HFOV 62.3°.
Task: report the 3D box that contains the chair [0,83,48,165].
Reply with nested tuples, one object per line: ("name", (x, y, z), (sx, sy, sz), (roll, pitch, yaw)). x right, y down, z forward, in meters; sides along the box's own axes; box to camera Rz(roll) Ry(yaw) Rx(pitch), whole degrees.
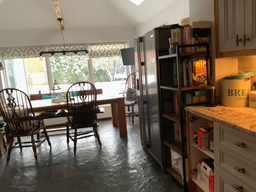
("chair", (-1.740, 0.400, 3.410), (0.560, 1.140, 0.640), (-5, 9, -5))

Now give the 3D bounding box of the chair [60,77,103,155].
("chair", (-0.800, 0.290, 3.600), (0.520, 1.150, 0.600), (-7, 9, -20))
